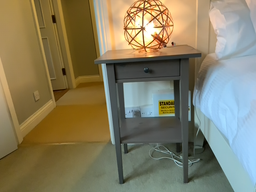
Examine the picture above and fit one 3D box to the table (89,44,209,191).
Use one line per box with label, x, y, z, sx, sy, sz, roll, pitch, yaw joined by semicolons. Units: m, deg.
table;0.120;0.100;1.200;0.490;0.690;0.450;-4;19;4
